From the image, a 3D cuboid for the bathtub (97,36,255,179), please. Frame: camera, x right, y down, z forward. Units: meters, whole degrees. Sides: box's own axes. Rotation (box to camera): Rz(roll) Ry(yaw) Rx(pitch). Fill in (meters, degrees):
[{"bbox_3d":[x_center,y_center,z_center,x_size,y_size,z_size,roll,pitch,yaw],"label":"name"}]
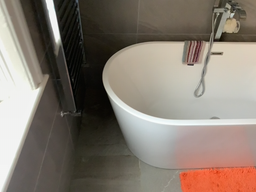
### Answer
[{"bbox_3d":[0.670,0.050,1.560,1.700,0.580,0.850,0,44,-3],"label":"bathtub"}]
